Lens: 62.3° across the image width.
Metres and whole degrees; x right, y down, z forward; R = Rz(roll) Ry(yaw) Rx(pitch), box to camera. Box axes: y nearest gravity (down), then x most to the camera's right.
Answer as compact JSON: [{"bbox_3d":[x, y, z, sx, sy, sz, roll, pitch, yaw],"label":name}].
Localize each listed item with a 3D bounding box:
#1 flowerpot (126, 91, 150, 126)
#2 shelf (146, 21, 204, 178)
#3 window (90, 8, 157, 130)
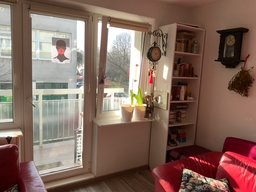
[{"bbox_3d":[0.150,0.180,3.200,0.280,0.470,0.200,-4,11,-40],"label":"flowerpot"},{"bbox_3d":[0.720,0.070,3.310,0.650,2.250,0.350,-2,10,-32],"label":"shelf"},{"bbox_3d":[-0.060,-0.340,3.050,0.900,1.580,0.170,-1,9,-29],"label":"window"}]
